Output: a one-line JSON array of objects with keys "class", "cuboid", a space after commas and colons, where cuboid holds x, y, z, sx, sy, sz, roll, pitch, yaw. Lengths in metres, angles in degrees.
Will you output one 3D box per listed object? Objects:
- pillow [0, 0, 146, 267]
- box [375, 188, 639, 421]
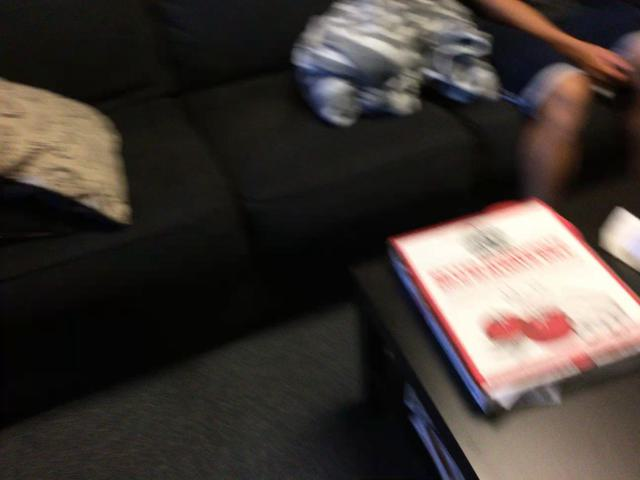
[{"class": "pillow", "cuboid": [-0.650, -0.240, 1.220, 0.390, 0.310, 0.510, -18, 43, -16]}, {"class": "box", "cuboid": [0.330, 0.080, 0.990, 0.340, 0.070, 0.360, -18, 43, -16]}]
